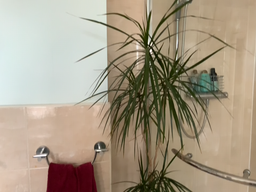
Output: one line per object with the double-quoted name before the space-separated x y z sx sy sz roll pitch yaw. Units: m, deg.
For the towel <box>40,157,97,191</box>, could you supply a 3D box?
"towel" -0.270 0.510 1.030 0.240 0.360 0.170 -2 7 -9
